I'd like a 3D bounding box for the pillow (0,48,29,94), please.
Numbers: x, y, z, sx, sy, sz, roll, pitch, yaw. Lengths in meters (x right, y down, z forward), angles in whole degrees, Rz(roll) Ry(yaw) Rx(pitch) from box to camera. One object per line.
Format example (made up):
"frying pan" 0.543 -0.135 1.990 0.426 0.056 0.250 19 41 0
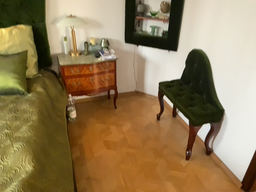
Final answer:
"pillow" -1.130 -0.220 1.860 0.380 0.300 0.300 -6 31 -13
